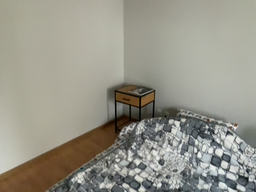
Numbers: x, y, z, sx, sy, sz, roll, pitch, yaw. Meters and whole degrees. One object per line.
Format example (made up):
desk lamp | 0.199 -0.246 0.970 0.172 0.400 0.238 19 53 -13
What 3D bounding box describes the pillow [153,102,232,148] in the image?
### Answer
pillow | 0.710 0.290 2.380 0.710 0.160 0.470 15 24 36
